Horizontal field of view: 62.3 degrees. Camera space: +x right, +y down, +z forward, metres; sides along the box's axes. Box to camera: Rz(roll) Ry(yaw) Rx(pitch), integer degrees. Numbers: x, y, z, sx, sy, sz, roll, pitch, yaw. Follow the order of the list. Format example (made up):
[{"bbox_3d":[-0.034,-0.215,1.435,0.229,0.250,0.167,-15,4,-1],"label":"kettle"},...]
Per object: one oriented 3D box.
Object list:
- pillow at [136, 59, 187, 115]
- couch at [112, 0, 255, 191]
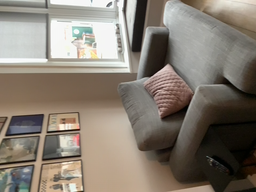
[{"bbox_3d":[0.330,-0.120,1.970,0.650,0.300,0.190,-53,-26,-54],"label":"pillow"},{"bbox_3d":[0.430,-0.130,1.900,1.340,0.830,1.160,-111,24,-51],"label":"couch"}]
